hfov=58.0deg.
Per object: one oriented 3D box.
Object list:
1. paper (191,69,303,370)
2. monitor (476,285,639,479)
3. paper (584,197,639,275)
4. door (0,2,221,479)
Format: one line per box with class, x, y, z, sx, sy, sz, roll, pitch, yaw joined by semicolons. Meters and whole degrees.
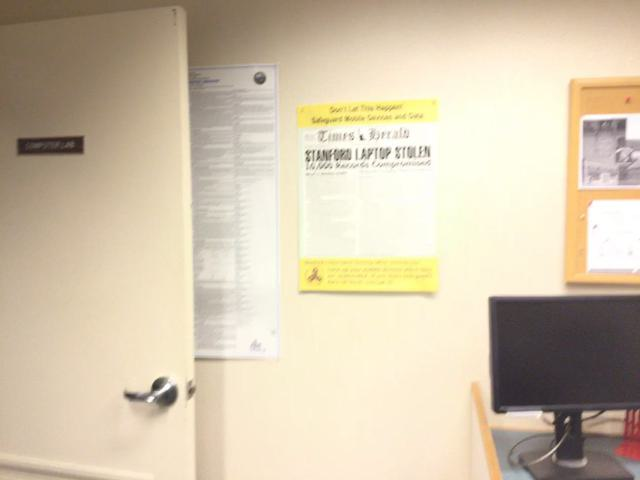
paper;-0.250;-0.070;1.950;0.350;0.980;0.060;3;4;14
monitor;0.690;0.390;1.540;0.500;0.480;0.250;3;4;14
paper;0.940;-0.010;1.680;0.300;0.220;0.040;3;4;14
door;-0.820;0.320;1.860;0.960;2.030;0.140;3;4;14
